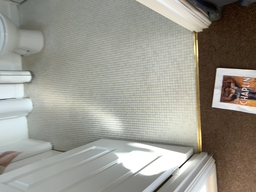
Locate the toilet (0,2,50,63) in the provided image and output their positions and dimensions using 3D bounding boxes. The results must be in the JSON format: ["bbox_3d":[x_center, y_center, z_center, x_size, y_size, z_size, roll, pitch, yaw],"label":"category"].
[{"bbox_3d":[-1.190,-0.500,1.740,0.640,0.780,0.370,0,95,34],"label":"toilet"}]
